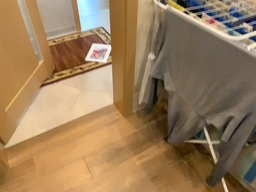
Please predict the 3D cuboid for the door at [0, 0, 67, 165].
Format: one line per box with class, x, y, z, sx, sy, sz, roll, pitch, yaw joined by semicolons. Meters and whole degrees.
door;-0.730;-0.670;1.000;0.110;2.170;1.040;7;46;5
